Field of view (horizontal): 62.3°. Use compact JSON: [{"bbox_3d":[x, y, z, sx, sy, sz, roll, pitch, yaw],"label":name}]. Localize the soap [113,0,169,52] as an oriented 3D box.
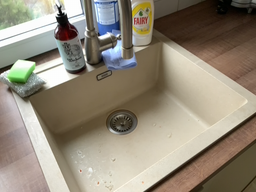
[{"bbox_3d":[0.040,-0.310,0.720,0.130,0.250,0.140,-25,51,-20],"label":"soap"}]
